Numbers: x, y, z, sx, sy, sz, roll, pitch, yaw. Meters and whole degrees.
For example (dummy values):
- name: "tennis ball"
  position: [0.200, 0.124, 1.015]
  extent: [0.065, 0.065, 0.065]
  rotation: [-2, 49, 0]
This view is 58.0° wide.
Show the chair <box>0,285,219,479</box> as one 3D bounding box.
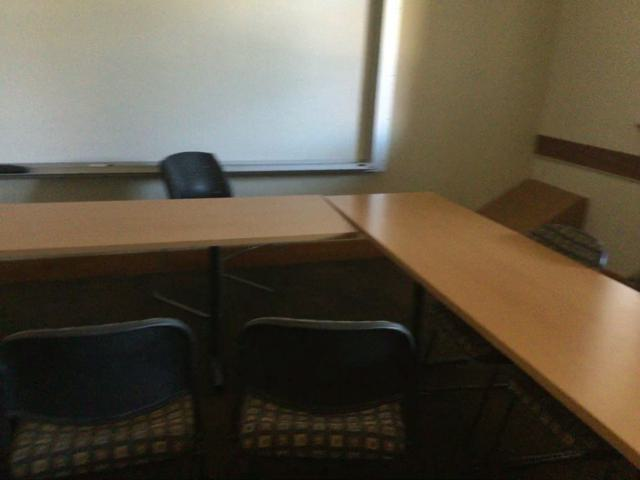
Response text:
- name: "chair"
  position: [-0.540, 0.430, 1.430]
  extent: [0.500, 0.580, 0.250]
  rotation: [1, 16, -20]

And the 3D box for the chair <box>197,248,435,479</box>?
- name: "chair"
  position: [-0.040, 0.450, 1.640]
  extent: [0.510, 0.680, 0.540]
  rotation: [6, 15, -3]

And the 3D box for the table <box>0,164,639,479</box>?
- name: "table"
  position: [-0.830, 0.470, 1.450]
  extent: [3.650, 0.920, 2.340]
  rotation: [1, 16, -21]
